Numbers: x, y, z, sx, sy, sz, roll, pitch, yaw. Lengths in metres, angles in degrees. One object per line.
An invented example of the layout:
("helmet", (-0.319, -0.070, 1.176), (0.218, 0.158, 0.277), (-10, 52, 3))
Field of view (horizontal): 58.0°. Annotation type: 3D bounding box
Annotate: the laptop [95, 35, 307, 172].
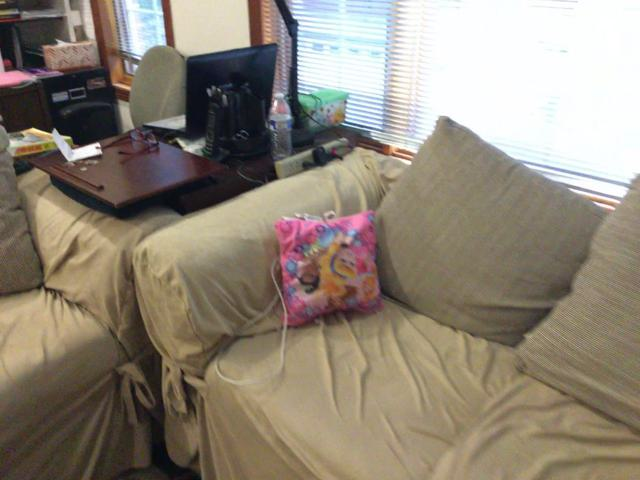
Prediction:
("laptop", (-0.370, -0.470, 1.880), (0.480, 0.310, 0.450), (19, 30, 34))
